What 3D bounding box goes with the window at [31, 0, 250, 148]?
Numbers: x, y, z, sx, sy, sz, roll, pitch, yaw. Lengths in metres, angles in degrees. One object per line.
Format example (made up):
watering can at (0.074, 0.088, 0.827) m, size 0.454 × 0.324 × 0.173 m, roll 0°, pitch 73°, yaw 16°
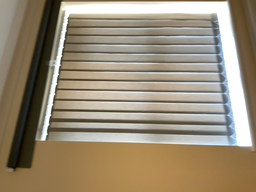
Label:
window at (0.090, -0.260, 1.510) m, size 0.020 × 1.330 × 1.180 m, roll 87°, pitch -175°, yaw -69°
